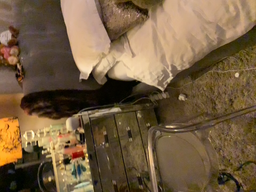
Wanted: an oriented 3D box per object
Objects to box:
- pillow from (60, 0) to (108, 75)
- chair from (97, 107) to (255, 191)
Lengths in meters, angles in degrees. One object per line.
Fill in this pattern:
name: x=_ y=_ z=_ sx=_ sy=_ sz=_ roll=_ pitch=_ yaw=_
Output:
pillow: x=-0.330 y=-0.540 z=1.440 sx=0.440 sy=0.170 sz=0.670 roll=139 pitch=119 yaw=-70
chair: x=0.320 y=0.340 z=1.120 sx=0.510 sy=0.770 sz=0.460 roll=-12 pitch=85 yaw=57
